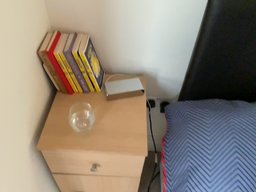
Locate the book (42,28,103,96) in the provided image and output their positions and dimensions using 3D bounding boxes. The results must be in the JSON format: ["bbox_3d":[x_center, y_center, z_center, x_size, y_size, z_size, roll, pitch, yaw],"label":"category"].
[{"bbox_3d":[-0.200,-0.130,0.840,0.180,0.210,0.150,3,47,0],"label":"book"}]
